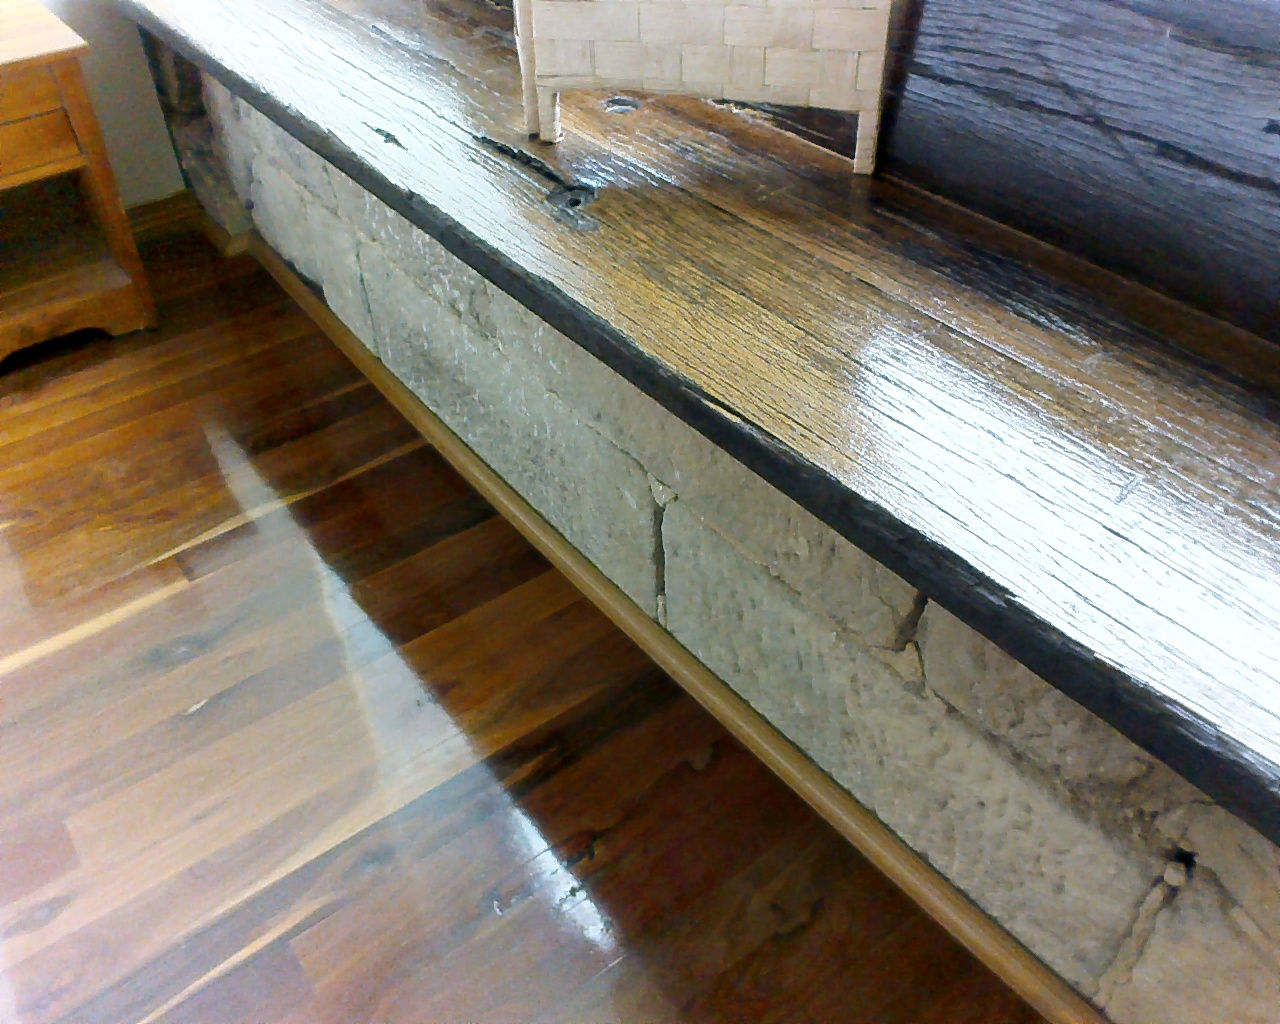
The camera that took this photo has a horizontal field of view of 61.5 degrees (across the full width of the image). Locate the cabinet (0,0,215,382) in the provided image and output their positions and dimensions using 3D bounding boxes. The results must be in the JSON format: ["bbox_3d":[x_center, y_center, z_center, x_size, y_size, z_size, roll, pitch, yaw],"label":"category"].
[{"bbox_3d":[-1.260,-0.650,2.060,0.580,0.620,0.430,-27,47,-26],"label":"cabinet"}]
